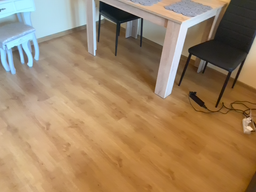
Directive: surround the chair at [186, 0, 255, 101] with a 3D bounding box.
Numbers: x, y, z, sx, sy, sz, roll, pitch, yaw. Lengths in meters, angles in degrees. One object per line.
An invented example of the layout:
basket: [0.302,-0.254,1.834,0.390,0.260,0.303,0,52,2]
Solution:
chair: [0.930,-0.500,1.980,0.340,0.970,0.440,34,48,30]
